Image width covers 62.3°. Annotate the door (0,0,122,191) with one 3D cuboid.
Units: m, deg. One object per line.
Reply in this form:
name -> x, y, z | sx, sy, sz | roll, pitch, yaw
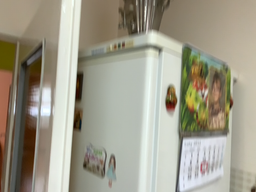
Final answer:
door -> -0.390, 0.650, 0.770 | 0.140, 2.080, 0.950 | 5, -2, -33
